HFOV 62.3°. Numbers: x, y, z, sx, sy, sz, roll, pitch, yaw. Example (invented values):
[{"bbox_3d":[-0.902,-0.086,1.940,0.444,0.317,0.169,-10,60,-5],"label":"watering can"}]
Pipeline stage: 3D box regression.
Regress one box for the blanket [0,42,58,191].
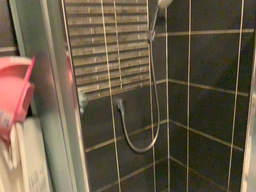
[{"bbox_3d":[-0.390,0.230,0.800,0.150,0.830,0.450,-12,19,-26],"label":"blanket"}]
